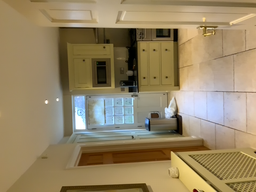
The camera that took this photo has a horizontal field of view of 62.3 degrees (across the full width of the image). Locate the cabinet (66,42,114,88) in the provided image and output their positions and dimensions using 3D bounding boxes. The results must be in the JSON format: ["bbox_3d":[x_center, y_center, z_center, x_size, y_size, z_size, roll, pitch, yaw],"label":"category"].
[{"bbox_3d":[-0.800,-0.650,4.550,0.360,0.940,0.950,-161,69,-83],"label":"cabinet"}]
